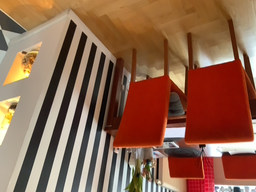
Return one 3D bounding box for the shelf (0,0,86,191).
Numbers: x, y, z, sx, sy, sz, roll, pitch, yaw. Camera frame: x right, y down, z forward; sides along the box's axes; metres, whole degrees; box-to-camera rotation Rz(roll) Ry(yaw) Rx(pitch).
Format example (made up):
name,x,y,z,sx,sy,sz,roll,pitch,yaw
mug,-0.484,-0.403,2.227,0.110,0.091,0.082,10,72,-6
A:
name,x,y,z,sx,sy,sz,roll,pitch,yaw
shelf,-0.840,0.170,1.510,0.690,1.860,0.300,-12,147,30
